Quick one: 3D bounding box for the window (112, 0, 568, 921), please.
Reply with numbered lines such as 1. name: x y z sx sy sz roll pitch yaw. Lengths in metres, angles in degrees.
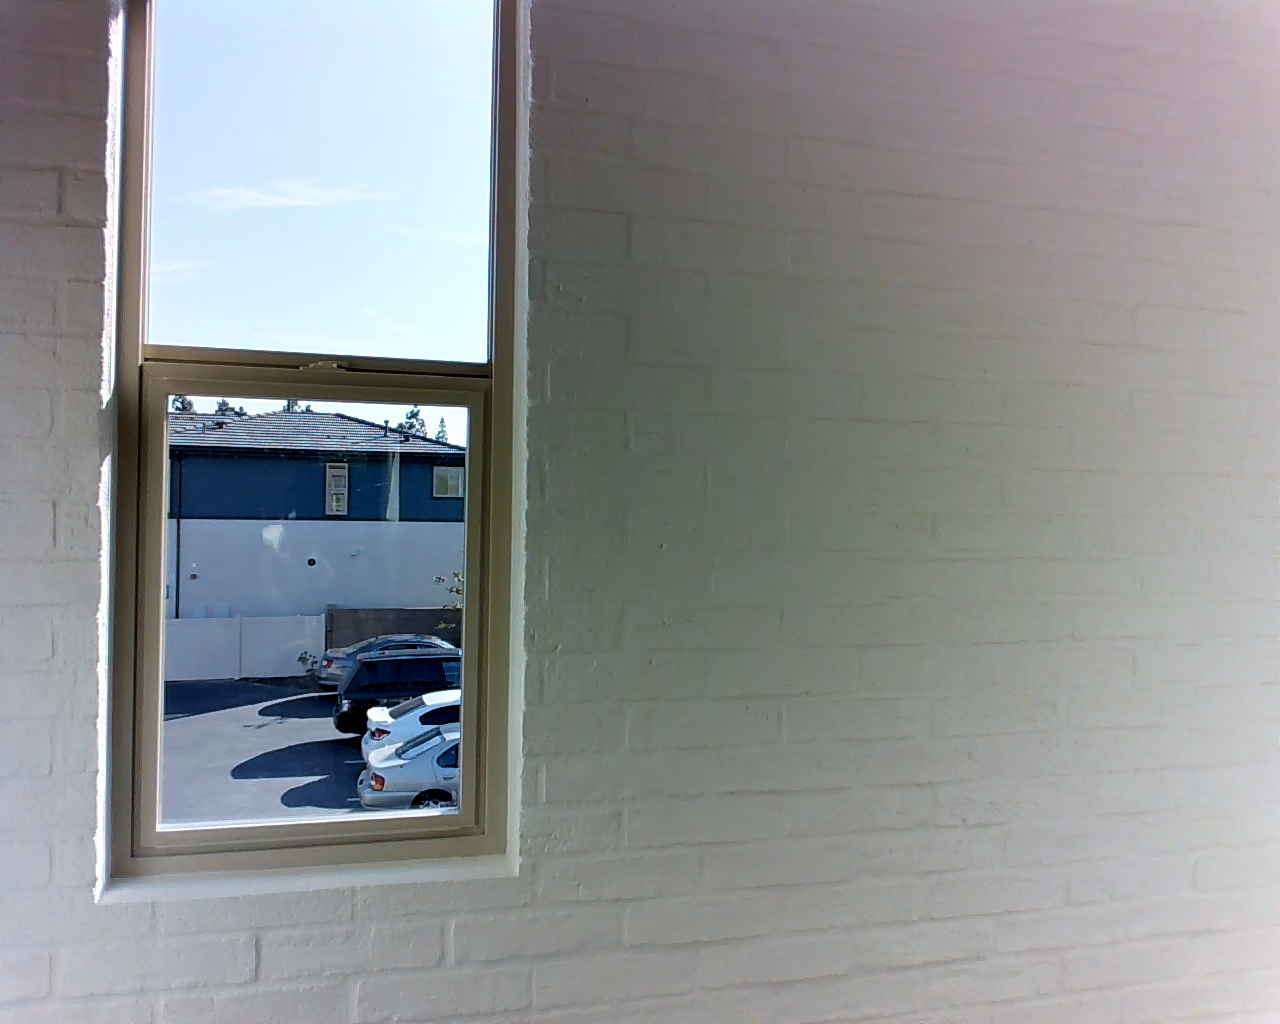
1. window: -0.450 -0.180 1.680 0.600 1.481 0.310 1 0 -15
